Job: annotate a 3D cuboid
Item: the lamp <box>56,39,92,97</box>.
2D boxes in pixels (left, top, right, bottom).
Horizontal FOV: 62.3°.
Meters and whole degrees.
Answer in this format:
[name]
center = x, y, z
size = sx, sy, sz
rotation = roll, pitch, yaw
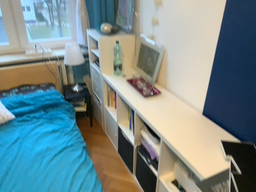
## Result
[lamp]
center = -0.630, -0.340, 2.490
size = 0.270, 0.550, 0.390
rotation = -13, 32, -25
